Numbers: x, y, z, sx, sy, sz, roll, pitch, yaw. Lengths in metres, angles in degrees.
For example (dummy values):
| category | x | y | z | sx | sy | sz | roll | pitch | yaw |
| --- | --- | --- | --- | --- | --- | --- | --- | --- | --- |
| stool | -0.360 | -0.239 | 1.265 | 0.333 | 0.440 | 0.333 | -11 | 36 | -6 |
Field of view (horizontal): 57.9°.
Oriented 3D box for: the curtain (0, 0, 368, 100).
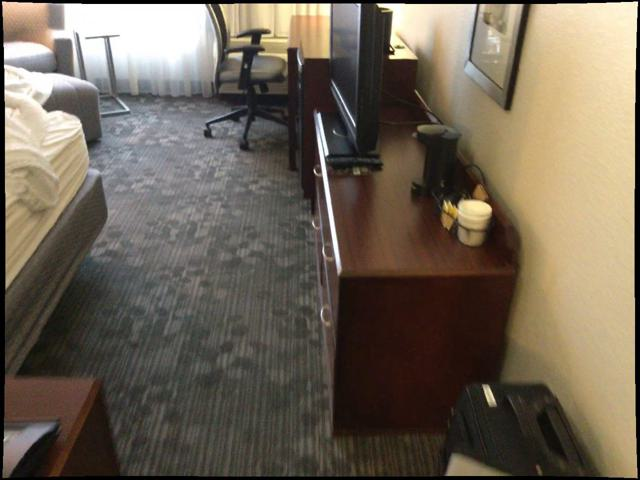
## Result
| category | x | y | z | sx | sy | sz | roll | pitch | yaw |
| --- | --- | --- | --- | --- | --- | --- | --- | --- | --- |
| curtain | -1.608 | -2.152 | 4.350 | 3.966 | 2.122 | 0.270 | 0 | 31 | -3 |

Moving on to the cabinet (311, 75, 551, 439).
| category | x | y | z | sx | sy | sz | roll | pitch | yaw |
| --- | --- | --- | --- | --- | --- | --- | --- | --- | --- |
| cabinet | 0.270 | -0.090 | 2.300 | 0.529 | 0.701 | 1.570 | 0 | 31 | -3 |
